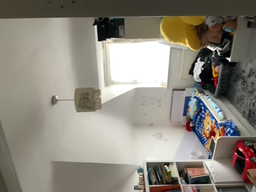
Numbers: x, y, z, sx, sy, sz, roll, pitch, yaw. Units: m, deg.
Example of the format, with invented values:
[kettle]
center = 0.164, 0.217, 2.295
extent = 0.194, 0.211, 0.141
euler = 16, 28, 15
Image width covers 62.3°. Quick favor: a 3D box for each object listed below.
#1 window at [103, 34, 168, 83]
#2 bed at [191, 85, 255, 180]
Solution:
[window]
center = 0.130, -0.660, 3.850
extent = 0.110, 1.120, 0.870
euler = -90, 0, -65
[bed]
center = 1.420, 0.460, 3.290
extent = 1.400, 0.410, 0.770
euler = -90, 0, -64
